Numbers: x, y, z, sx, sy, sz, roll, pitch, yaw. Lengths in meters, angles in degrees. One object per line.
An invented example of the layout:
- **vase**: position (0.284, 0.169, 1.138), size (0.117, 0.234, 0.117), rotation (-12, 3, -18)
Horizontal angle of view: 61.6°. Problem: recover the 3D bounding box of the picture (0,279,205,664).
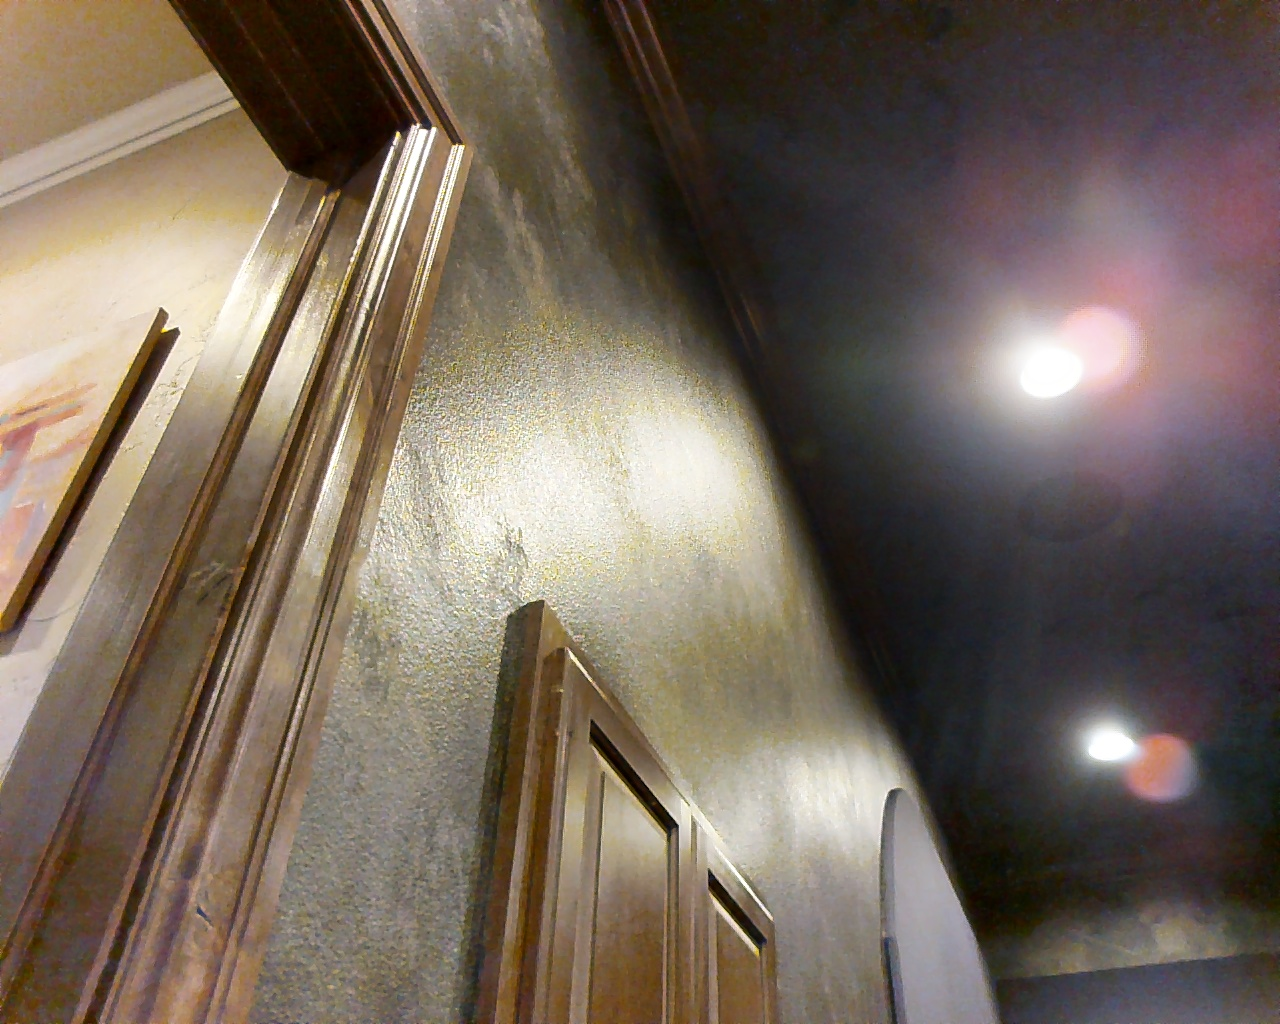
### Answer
- **picture**: position (-1.050, -0.020, 1.590), size (0.710, 0.710, 0.030), rotation (-14, -45, 17)
